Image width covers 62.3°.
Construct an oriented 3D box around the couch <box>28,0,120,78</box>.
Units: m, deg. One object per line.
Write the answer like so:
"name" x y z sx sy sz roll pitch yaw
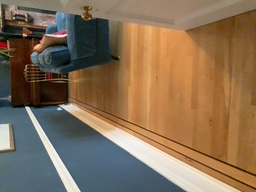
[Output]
"couch" -0.890 -0.810 3.030 1.740 0.800 0.980 15 105 59
